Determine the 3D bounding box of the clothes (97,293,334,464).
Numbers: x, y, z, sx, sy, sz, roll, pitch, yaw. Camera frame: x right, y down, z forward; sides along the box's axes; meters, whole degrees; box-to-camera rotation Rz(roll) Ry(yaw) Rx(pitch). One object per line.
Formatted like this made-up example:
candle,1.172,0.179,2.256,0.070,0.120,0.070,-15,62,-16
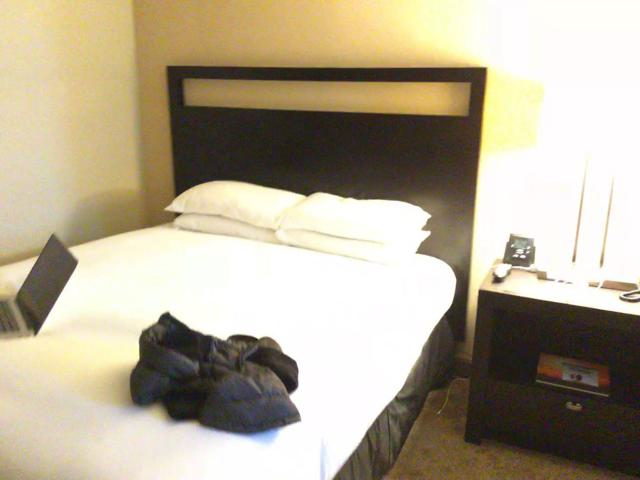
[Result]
clothes,-0.220,0.290,1.360,0.370,0.180,0.420,6,12,23

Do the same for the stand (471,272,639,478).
stand,1.030,0.500,2.310,0.740,0.610,0.470,4,9,23

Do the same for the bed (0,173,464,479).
bed,-0.480,0.390,2.090,1.540,1.030,2.150,6,12,23
